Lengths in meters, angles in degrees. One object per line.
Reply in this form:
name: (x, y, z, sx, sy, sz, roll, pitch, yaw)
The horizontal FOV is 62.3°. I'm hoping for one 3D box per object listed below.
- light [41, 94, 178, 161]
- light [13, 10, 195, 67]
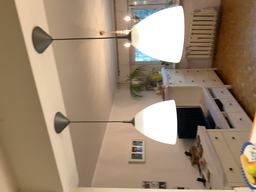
light: (-0.080, 0.160, 1.140, 0.640, 0.240, 0.270, -1, 111, 4)
light: (-0.090, -0.250, 0.900, 0.670, 0.190, 0.210, 1, 111, 3)
